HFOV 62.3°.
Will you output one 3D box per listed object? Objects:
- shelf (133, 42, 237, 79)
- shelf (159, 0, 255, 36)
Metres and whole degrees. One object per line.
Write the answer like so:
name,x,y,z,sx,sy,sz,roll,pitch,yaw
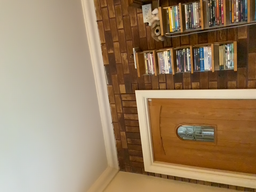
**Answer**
shelf,0.470,-0.300,1.850,0.150,0.840,0.250,-36,-57,-60
shelf,0.670,-0.640,1.640,0.150,0.830,0.250,-36,-57,-60
